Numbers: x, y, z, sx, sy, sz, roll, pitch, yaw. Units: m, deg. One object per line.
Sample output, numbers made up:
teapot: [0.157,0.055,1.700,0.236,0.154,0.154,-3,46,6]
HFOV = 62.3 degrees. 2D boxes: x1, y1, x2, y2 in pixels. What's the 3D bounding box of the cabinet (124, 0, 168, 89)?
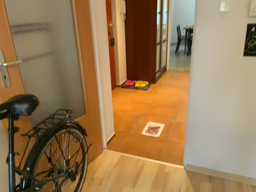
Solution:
cabinet: [0.380,-1.530,4.180,0.560,2.540,1.020,8,24,20]
